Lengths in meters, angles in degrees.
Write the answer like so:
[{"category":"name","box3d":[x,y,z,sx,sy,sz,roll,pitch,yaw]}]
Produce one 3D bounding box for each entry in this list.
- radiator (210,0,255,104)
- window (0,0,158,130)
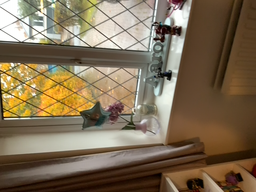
[{"category":"radiator","box3d":[0.830,-0.390,1.240,0.060,0.550,0.910,-132,46,-63]},{"category":"window","box3d":[-0.310,-0.560,1.200,0.080,1.010,1.560,-137,50,-65]}]
